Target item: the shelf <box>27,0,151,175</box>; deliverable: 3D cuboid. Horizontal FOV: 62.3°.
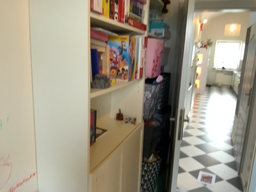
[{"bbox_3d":[-0.130,-0.390,1.200,0.310,1.310,0.810,7,12,19],"label":"shelf"}]
